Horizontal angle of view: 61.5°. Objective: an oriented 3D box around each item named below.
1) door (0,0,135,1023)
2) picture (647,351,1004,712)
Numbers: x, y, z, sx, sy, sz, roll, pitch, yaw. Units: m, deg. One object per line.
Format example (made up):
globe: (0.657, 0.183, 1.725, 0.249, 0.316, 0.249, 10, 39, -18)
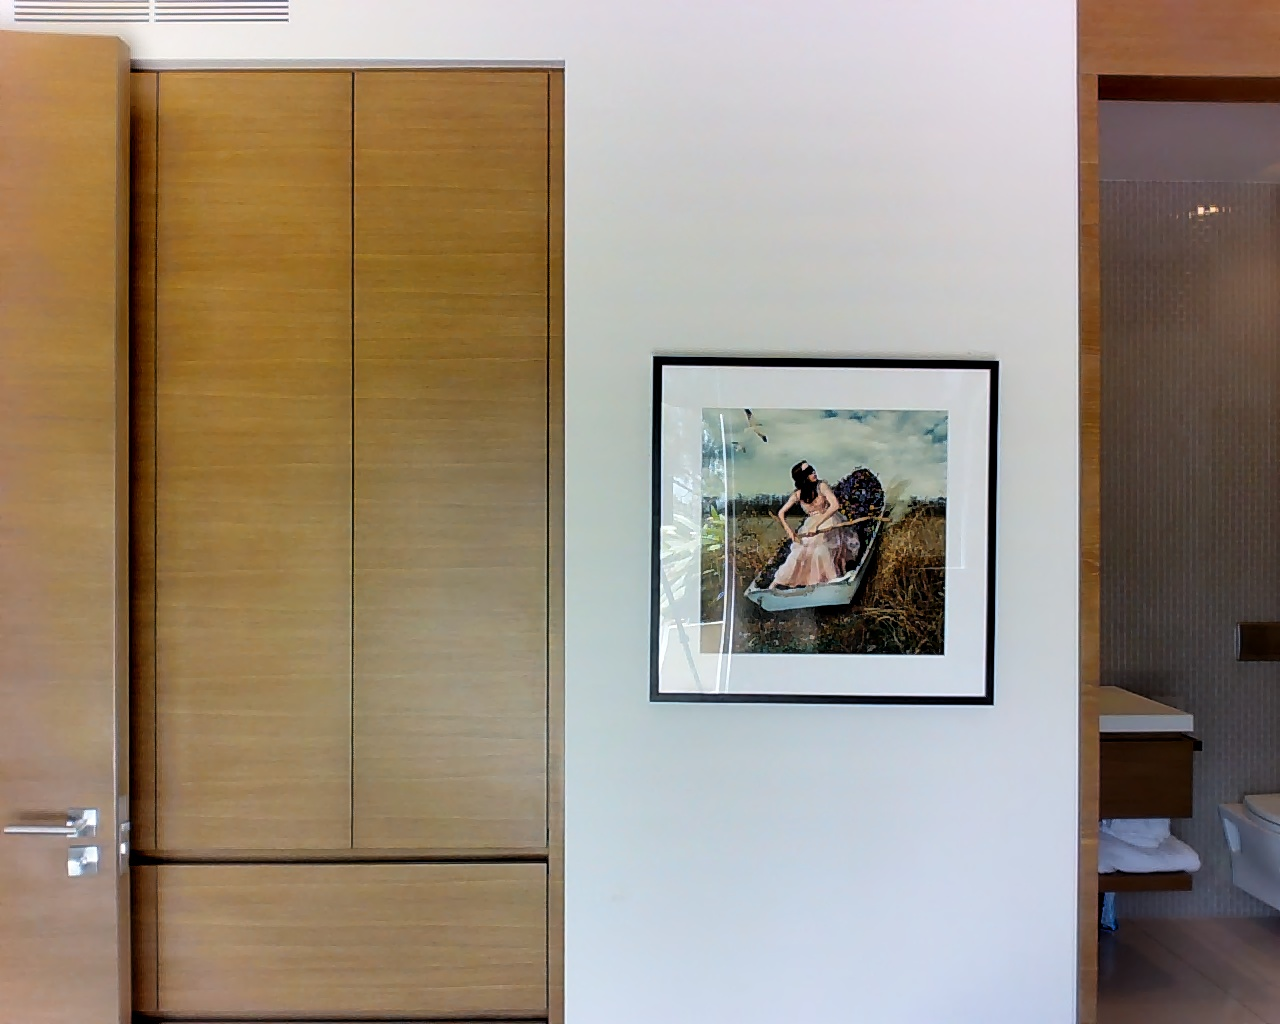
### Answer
door: (-1.420, 0.260, 2.030, 0.880, 2.520, 0.030, 0, 0, -6)
picture: (0.380, 0.040, 2.230, 0.730, 0.740, 0.050, 0, 0, 1)
